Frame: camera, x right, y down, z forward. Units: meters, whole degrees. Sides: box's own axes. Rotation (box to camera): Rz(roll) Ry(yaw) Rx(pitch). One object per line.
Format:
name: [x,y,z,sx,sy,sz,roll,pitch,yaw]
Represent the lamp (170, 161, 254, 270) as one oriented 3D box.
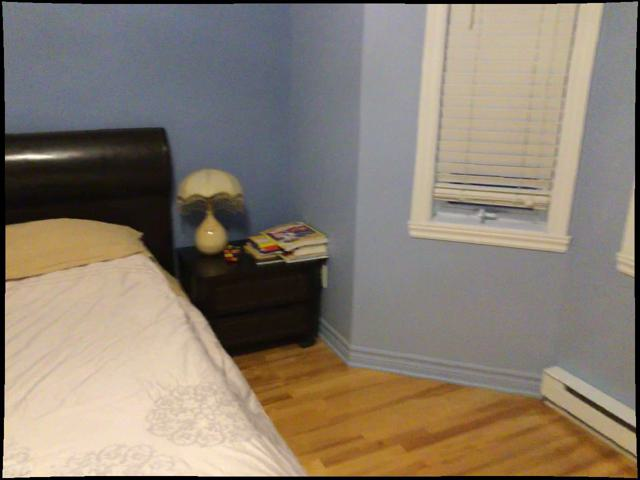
lamp: [-0.519,-0.130,2.780,0.290,0.420,0.300,-11,22,-24]
